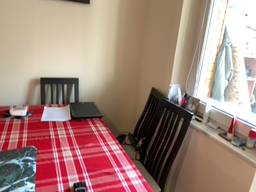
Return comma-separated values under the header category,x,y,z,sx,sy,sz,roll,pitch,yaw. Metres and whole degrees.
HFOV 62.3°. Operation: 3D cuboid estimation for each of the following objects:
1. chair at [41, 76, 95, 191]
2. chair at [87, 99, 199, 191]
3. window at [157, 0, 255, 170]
category,x,y,z,sx,sy,sz,roll,pitch,yaw
chair,-0.590,0.360,1.970,0.350,0.980,0.560,-2,17,-27
chair,0.060,0.550,1.550,0.600,0.970,0.390,-1,17,-25
window,0.610,-0.500,1.310,0.140,1.540,1.020,-1,17,-23
